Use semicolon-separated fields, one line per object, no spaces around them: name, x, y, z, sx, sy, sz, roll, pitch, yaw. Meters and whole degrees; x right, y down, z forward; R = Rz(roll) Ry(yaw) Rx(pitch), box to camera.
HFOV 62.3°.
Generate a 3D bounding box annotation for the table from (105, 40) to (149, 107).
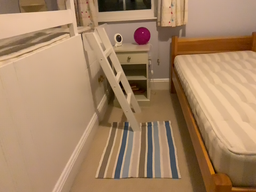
table;0.020;-0.280;2.530;0.450;0.670;0.460;-1;23;5
